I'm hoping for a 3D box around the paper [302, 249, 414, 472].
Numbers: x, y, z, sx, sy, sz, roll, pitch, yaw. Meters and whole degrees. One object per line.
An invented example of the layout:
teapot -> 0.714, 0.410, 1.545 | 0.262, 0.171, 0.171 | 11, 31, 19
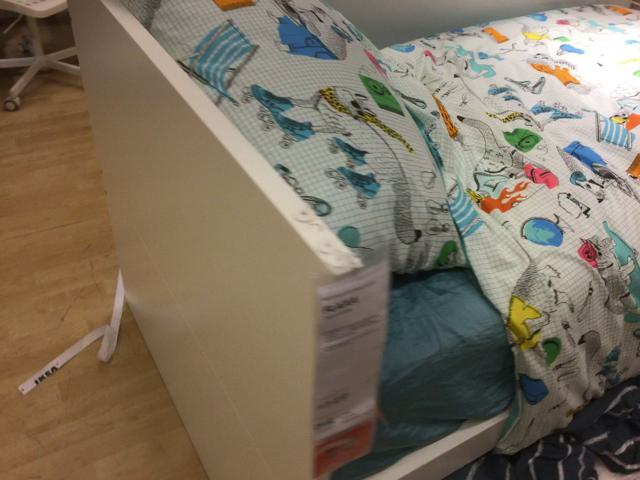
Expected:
paper -> 0.030, 0.130, 0.570 | 0.080, 0.260, 0.040 | -20, 46, -24
